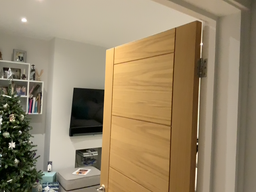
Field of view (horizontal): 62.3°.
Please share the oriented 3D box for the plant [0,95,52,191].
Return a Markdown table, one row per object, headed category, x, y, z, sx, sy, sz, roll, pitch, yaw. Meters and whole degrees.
| category | x | y | z | sx | sy | sz | roll | pitch | yaw |
| --- | --- | --- | --- | --- | --- | --- | --- | --- | --- |
| plant | -1.710 | 0.810 | 3.020 | 0.930 | 1.630 | 0.780 | 3 | 0 | -36 |
